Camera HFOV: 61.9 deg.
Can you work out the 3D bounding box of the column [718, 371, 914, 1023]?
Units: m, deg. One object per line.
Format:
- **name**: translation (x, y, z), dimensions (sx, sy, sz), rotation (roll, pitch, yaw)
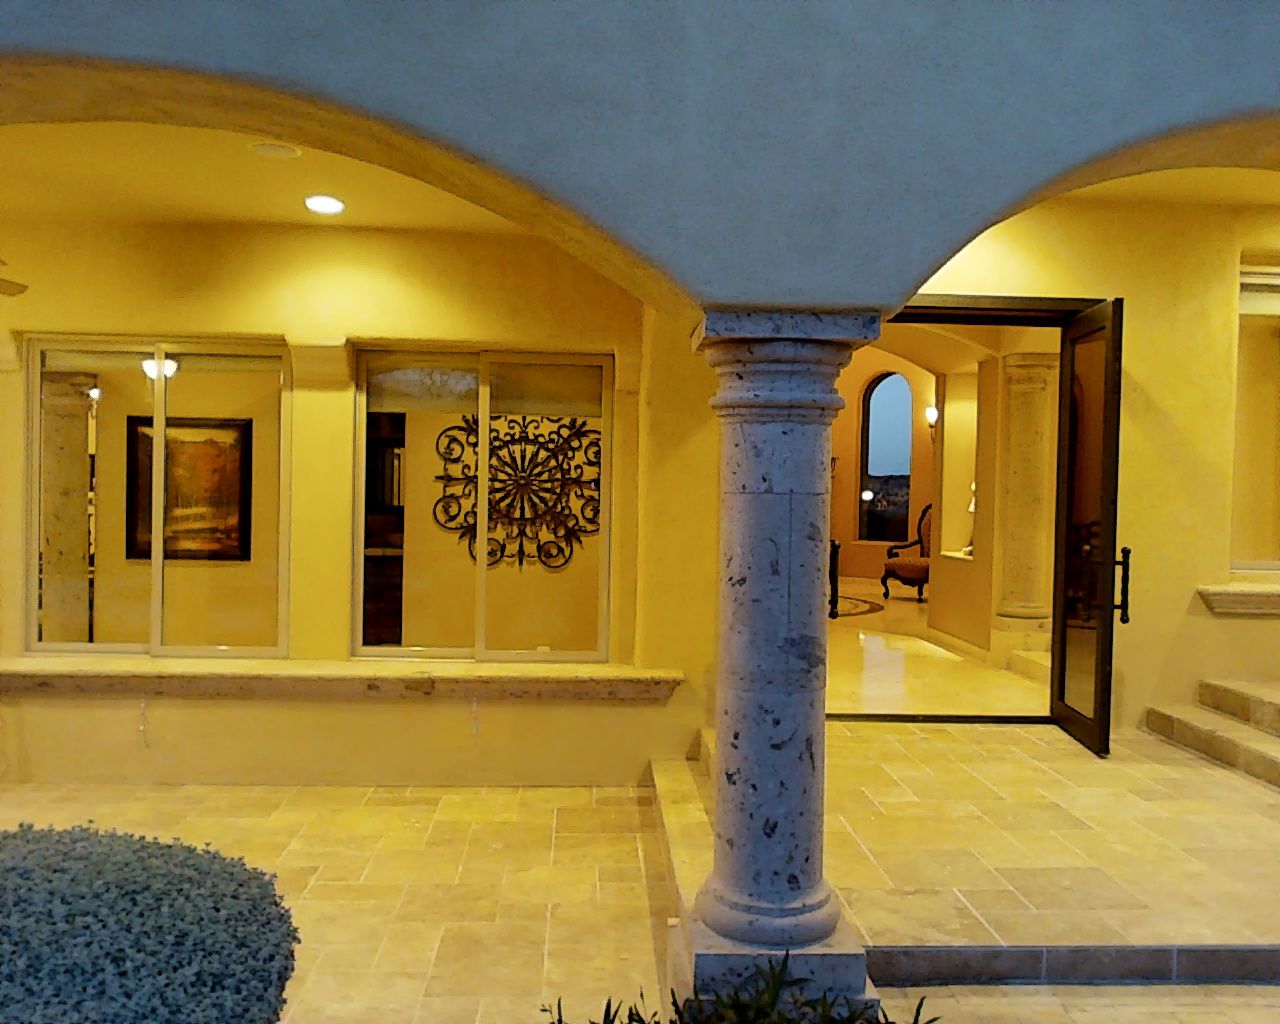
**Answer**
- **column**: translation (0.470, 0.550, 3.040), dimensions (0.380, 1.820, 0.640), rotation (1, 1, -3)
